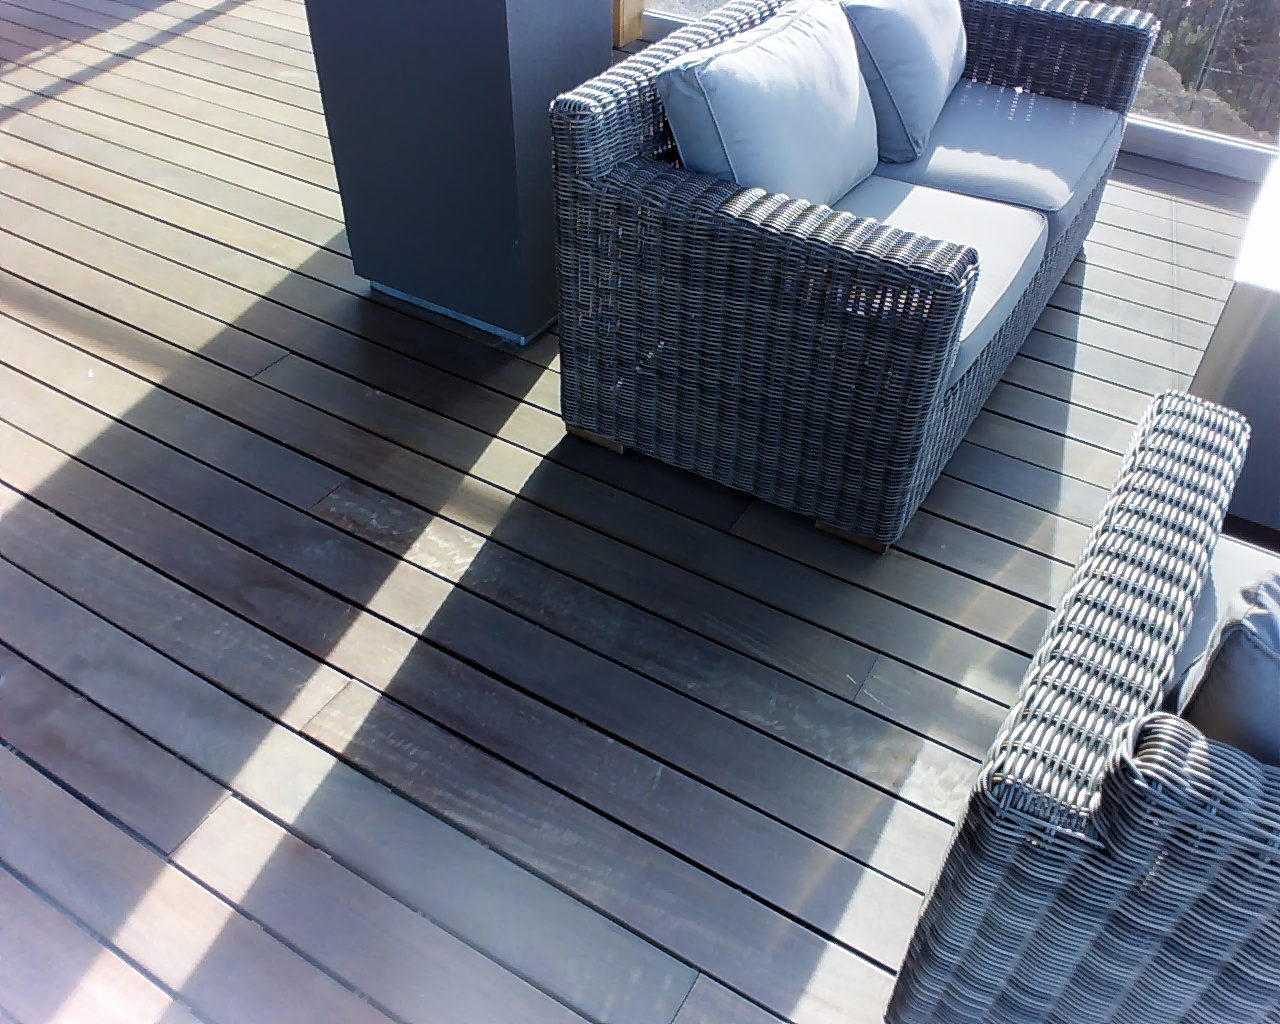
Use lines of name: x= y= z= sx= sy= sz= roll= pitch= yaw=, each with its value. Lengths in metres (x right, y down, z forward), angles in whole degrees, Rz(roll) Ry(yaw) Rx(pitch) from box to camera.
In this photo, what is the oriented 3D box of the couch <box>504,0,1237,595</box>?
couch: x=0.620 y=-0.800 z=2.600 sx=1.070 sy=0.850 sz=1.630 roll=23 pitch=46 yaw=22
